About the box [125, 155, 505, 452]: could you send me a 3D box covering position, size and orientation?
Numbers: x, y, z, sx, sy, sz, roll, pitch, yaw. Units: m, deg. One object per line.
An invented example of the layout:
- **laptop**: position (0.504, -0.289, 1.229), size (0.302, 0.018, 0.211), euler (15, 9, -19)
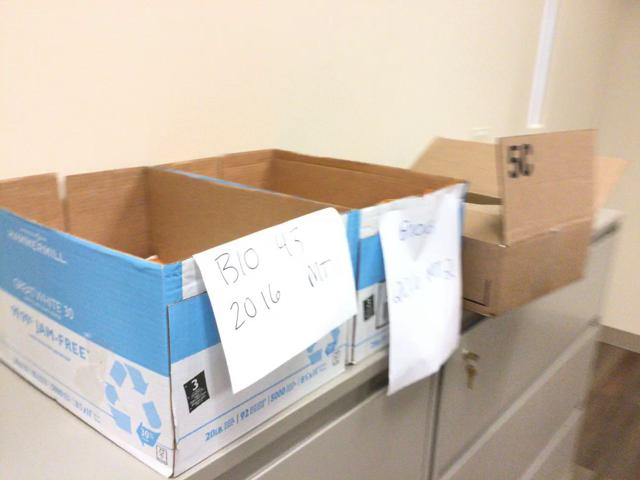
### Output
- **box**: position (0.000, 0.040, 0.980), size (0.470, 0.330, 0.410), euler (8, 14, 36)

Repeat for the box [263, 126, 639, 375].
- **box**: position (0.310, -0.060, 1.240), size (0.590, 0.360, 0.620), euler (8, 14, 36)

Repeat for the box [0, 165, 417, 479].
- **box**: position (-0.180, 0.060, 0.740), size (0.500, 0.270, 0.320), euler (8, 14, 36)
